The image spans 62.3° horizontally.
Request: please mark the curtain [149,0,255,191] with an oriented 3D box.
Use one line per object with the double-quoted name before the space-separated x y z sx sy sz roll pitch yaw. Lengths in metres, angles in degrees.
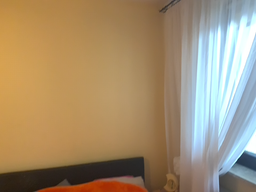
"curtain" 0.690 0.050 1.730 0.260 2.190 1.810 -1 2 -20
